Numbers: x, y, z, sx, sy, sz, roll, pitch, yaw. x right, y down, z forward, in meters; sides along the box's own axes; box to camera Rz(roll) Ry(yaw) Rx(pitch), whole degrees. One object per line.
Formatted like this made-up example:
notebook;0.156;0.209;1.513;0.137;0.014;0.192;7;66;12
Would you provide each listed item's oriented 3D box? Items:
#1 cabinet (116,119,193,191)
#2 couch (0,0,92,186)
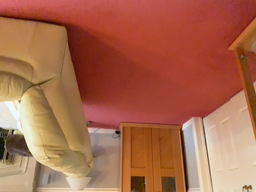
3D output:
cabinet;0.360;1.440;3.150;1.050;2.110;0.500;2;156;-6
couch;-0.840;0.170;1.680;0.990;0.980;1.570;2;156;-7
